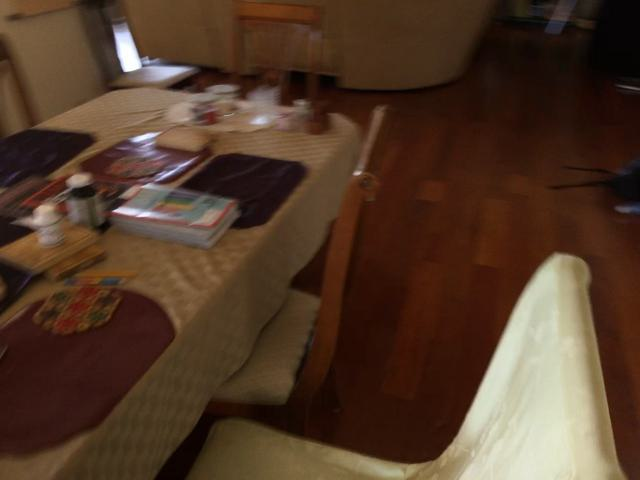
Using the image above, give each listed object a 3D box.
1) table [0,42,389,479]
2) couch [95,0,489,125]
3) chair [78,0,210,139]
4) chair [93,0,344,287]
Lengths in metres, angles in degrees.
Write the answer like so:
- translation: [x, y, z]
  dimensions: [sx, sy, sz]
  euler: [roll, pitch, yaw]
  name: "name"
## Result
- translation: [-0.670, 0.230, 1.680]
  dimensions: [1.190, 0.890, 2.190]
  euler: [12, 36, 15]
  name: "table"
- translation: [-0.180, -1.940, 5.200]
  dimensions: [3.120, 0.830, 1.530]
  euler: [12, 36, 15]
  name: "couch"
- translation: [-1.090, -1.190, 3.680]
  dimensions: [0.540, 0.890, 0.470]
  euler: [12, 36, 14]
  name: "chair"
- translation: [-0.380, -0.490, 2.630]
  dimensions: [0.760, 1.040, 0.730]
  euler: [12, 36, 14]
  name: "chair"
